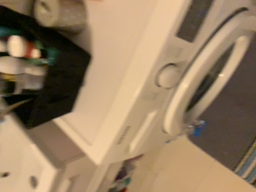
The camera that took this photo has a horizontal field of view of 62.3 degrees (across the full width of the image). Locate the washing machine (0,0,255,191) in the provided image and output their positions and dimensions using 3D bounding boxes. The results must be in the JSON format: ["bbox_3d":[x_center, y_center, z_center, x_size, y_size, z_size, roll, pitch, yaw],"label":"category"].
[{"bbox_3d":[0.100,-0.180,0.870,0.550,0.840,0.620,35,112,26],"label":"washing machine"}]

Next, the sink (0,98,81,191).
[{"bbox_3d":[-0.490,0.380,0.920,0.400,0.160,0.610,36,113,25],"label":"sink"}]
